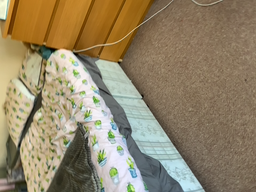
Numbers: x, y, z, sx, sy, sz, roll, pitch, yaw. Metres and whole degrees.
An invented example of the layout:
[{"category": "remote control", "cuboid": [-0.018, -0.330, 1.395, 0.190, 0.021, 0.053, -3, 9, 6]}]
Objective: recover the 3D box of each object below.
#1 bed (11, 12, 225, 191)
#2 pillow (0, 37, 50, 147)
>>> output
[{"category": "bed", "cuboid": [-0.370, 0.590, 1.770, 1.570, 0.580, 2.100, -55, 48, 29]}, {"category": "pillow", "cuboid": [-1.080, 0.010, 2.110, 1.120, 0.180, 0.360, -56, 47, 28]}]
